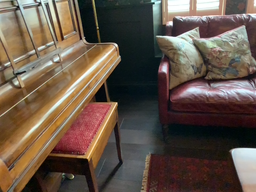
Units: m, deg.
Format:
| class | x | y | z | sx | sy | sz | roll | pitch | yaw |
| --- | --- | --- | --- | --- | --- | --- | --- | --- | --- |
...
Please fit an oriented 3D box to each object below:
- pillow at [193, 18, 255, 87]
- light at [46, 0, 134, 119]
| class | x | y | z | sx | sy | sz | roll | pitch | yaw |
| --- | --- | --- | --- | --- | --- | --- | --- | --- | --- |
| pillow | 0.840 | -0.330 | 1.710 | 0.410 | 0.410 | 0.210 | 13 | 48 | -17 |
| light | -0.340 | -0.580 | 2.100 | 0.570 | 1.600 | 0.420 | 4 | 29 | 19 |
